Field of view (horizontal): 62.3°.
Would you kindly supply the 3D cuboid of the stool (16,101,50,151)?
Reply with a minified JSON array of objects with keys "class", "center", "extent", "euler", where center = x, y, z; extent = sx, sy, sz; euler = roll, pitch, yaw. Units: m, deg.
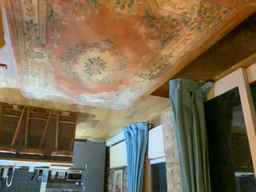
[{"class":"stool","center":[-1.680,0.550,3.810],"extent":[0.400,0.800,0.380],"euler":[9,156,-19]}]
